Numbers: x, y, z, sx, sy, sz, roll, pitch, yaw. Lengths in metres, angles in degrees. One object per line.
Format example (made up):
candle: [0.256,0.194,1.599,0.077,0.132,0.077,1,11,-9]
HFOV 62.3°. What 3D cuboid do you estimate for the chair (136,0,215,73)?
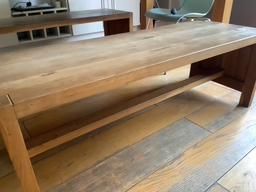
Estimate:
chair: [0.420,-0.670,1.910,0.460,0.720,0.510,23,36,37]
